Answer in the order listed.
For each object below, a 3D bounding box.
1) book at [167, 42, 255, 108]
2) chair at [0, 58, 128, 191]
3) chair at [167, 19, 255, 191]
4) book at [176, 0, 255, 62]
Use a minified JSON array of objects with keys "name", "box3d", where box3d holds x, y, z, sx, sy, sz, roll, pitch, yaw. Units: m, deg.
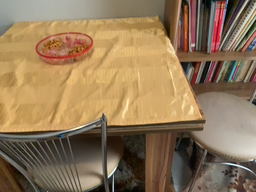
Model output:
[{"name":"book","box3d":[0.600,-0.130,1.230,0.680,0.270,0.220,-5,40,-2]},{"name":"chair","box3d":[-0.220,0.280,0.870,0.420,0.810,0.250,-5,40,-2]},{"name":"chair","box3d":[0.460,0.120,1.010,0.410,0.810,0.420,-3,39,0]},{"name":"book","box3d":[0.600,-0.350,1.040,0.670,0.290,0.160,-3,39,0]}]
